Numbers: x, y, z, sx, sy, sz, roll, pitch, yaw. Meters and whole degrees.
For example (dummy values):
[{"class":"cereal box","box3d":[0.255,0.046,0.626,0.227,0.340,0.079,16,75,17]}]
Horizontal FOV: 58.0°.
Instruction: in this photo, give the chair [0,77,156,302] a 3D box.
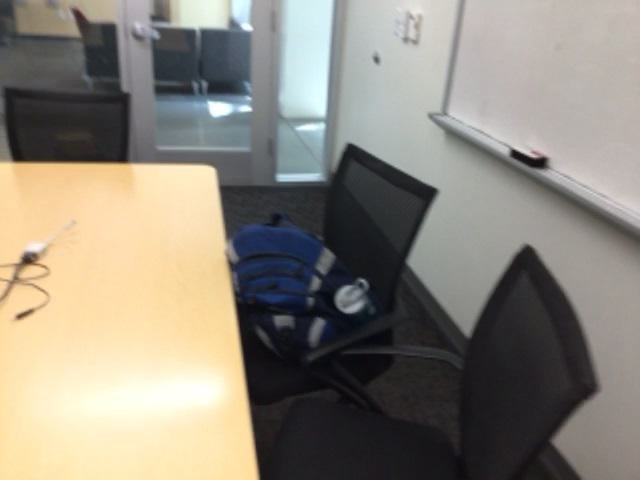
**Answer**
[{"class":"chair","box3d":[-0.950,-0.200,2.140,0.610,0.680,0.500,-1,26,-12]}]

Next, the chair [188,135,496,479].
[{"class":"chair","box3d":[-0.020,0.230,1.620,0.560,0.880,0.620,-6,28,-22]}]

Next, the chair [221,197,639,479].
[{"class":"chair","box3d":[0.140,0.450,1.120,0.560,0.880,0.550,5,25,0]}]
